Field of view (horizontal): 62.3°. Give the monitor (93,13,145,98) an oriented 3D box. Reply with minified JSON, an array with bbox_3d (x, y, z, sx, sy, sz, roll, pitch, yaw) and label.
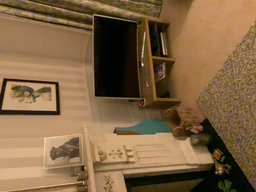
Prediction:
[{"bbox_3d":[-0.120,-0.510,2.730,0.050,0.670,1.060,153,117,-63],"label":"monitor"}]

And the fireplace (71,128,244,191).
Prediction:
[{"bbox_3d":[0.320,1.160,1.700,1.670,1.300,0.740,-110,32,-42],"label":"fireplace"}]
